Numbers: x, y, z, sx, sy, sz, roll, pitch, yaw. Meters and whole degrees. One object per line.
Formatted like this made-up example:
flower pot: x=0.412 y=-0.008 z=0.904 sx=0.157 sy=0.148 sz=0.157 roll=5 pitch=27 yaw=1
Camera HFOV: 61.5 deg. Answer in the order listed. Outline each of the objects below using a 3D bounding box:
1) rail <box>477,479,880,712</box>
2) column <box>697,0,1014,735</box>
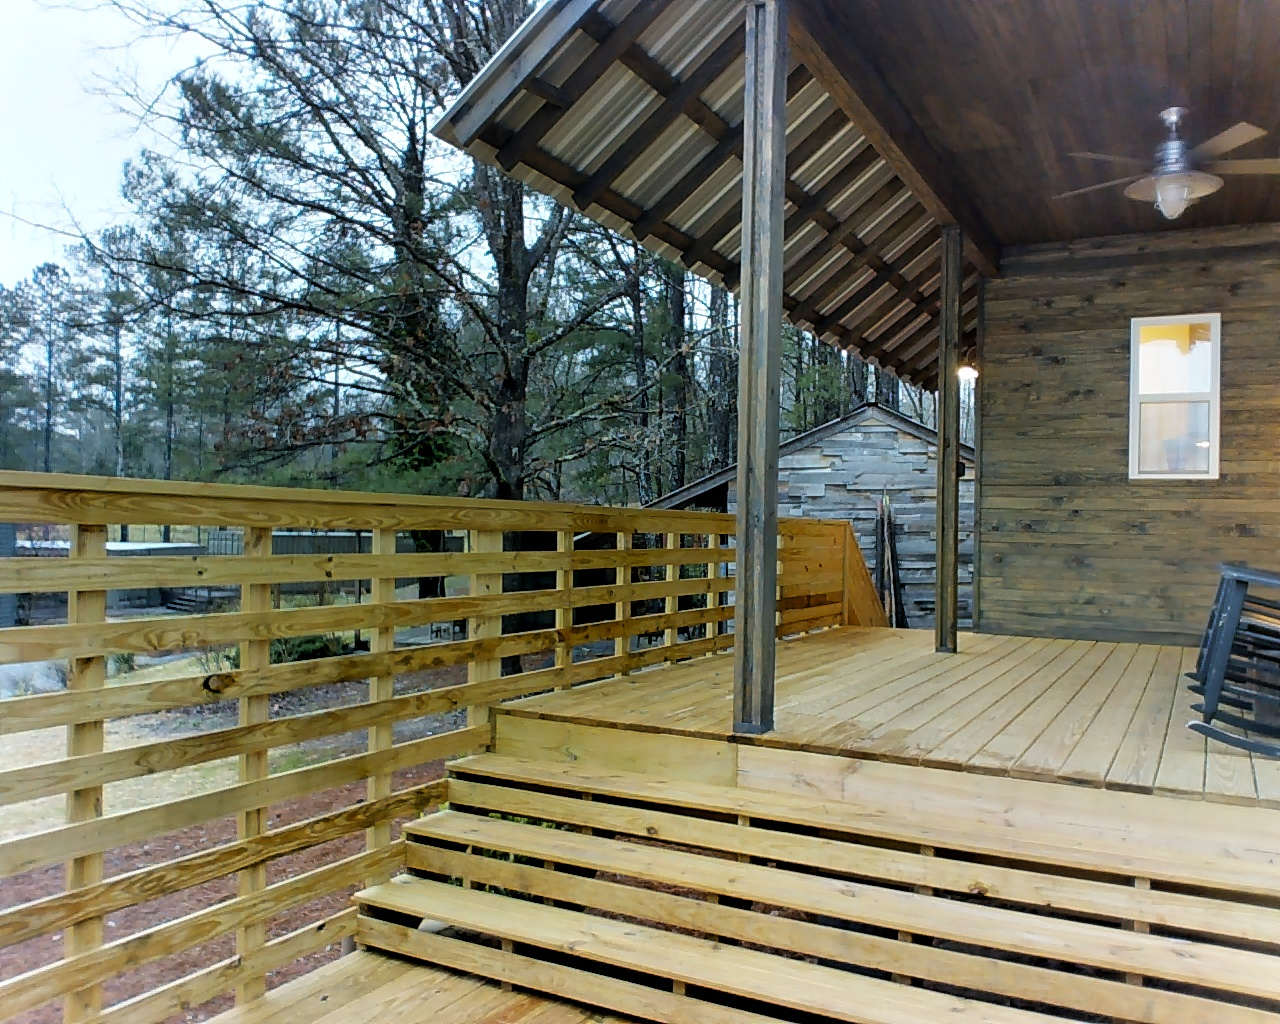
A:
rail: x=0.720 y=0.400 z=7.090 sx=0.150 sy=0.980 sz=5.700 roll=1 pitch=-1 yaw=28
column: x=1.620 y=-0.690 z=6.430 sx=0.310 sy=3.140 sz=5.240 roll=1 pitch=-1 yaw=28
